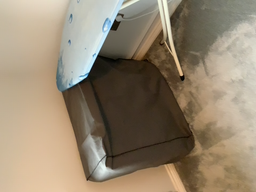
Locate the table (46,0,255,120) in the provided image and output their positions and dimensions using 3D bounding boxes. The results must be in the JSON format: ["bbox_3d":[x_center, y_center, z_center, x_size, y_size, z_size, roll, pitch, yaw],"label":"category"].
[{"bbox_3d":[0.170,-0.540,1.260,1.660,0.860,0.520,-52,52,42],"label":"table"}]
